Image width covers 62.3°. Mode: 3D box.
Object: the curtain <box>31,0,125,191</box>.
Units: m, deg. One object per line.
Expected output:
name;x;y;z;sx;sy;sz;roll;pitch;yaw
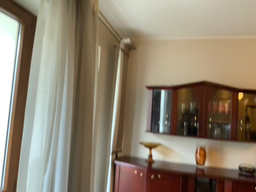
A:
curtain;-0.340;0.390;1.520;0.310;2.580;0.570;3;-5;15
